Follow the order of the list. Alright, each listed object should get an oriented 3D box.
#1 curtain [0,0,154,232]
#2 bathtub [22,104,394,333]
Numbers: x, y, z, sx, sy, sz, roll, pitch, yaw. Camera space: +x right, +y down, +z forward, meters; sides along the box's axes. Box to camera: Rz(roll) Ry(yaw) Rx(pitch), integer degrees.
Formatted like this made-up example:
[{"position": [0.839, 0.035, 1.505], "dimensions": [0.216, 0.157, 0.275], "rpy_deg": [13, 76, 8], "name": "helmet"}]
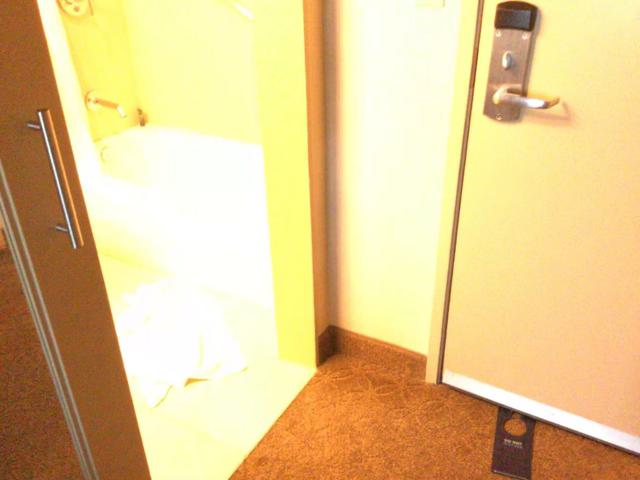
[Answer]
[{"position": [-1.110, -1.030, 2.210], "dimensions": [0.340, 1.920, 0.550], "rpy_deg": [15, 32, 27], "name": "curtain"}, {"position": [-0.480, -0.200, 2.600], "dimensions": [1.390, 0.480, 0.810], "rpy_deg": [14, 32, 27], "name": "bathtub"}]
